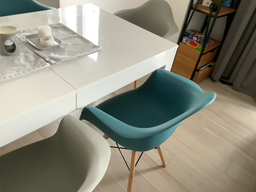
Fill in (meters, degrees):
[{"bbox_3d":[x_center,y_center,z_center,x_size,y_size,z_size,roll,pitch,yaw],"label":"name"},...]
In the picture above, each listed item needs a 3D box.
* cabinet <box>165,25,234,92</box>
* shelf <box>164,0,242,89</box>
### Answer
[{"bbox_3d":[0.860,-0.480,2.550,0.350,0.500,0.770,34,43,27],"label":"cabinet"},{"bbox_3d":[0.910,-1.170,1.930,0.350,2.320,0.510,35,44,28],"label":"shelf"}]
